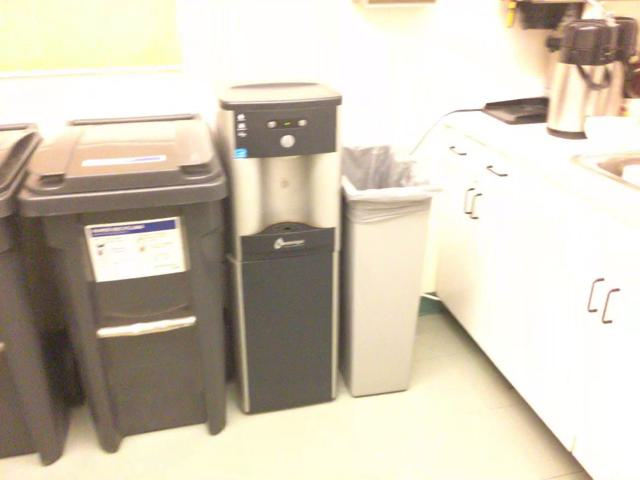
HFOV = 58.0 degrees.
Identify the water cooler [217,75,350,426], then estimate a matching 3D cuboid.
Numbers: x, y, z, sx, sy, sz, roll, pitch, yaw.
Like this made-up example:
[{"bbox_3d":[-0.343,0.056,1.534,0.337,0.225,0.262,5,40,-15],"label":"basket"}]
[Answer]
[{"bbox_3d":[-0.110,0.050,1.780,0.310,1.040,0.260,-7,25,-15],"label":"water cooler"}]
